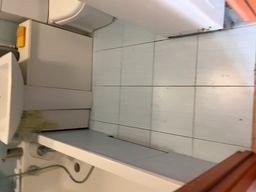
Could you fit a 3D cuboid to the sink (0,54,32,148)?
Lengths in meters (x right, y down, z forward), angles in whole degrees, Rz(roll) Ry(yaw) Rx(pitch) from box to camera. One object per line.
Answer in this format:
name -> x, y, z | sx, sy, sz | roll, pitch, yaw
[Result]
sink -> -0.900, 0.030, 1.580 | 0.400, 0.170, 0.610 | 2, 90, 41
